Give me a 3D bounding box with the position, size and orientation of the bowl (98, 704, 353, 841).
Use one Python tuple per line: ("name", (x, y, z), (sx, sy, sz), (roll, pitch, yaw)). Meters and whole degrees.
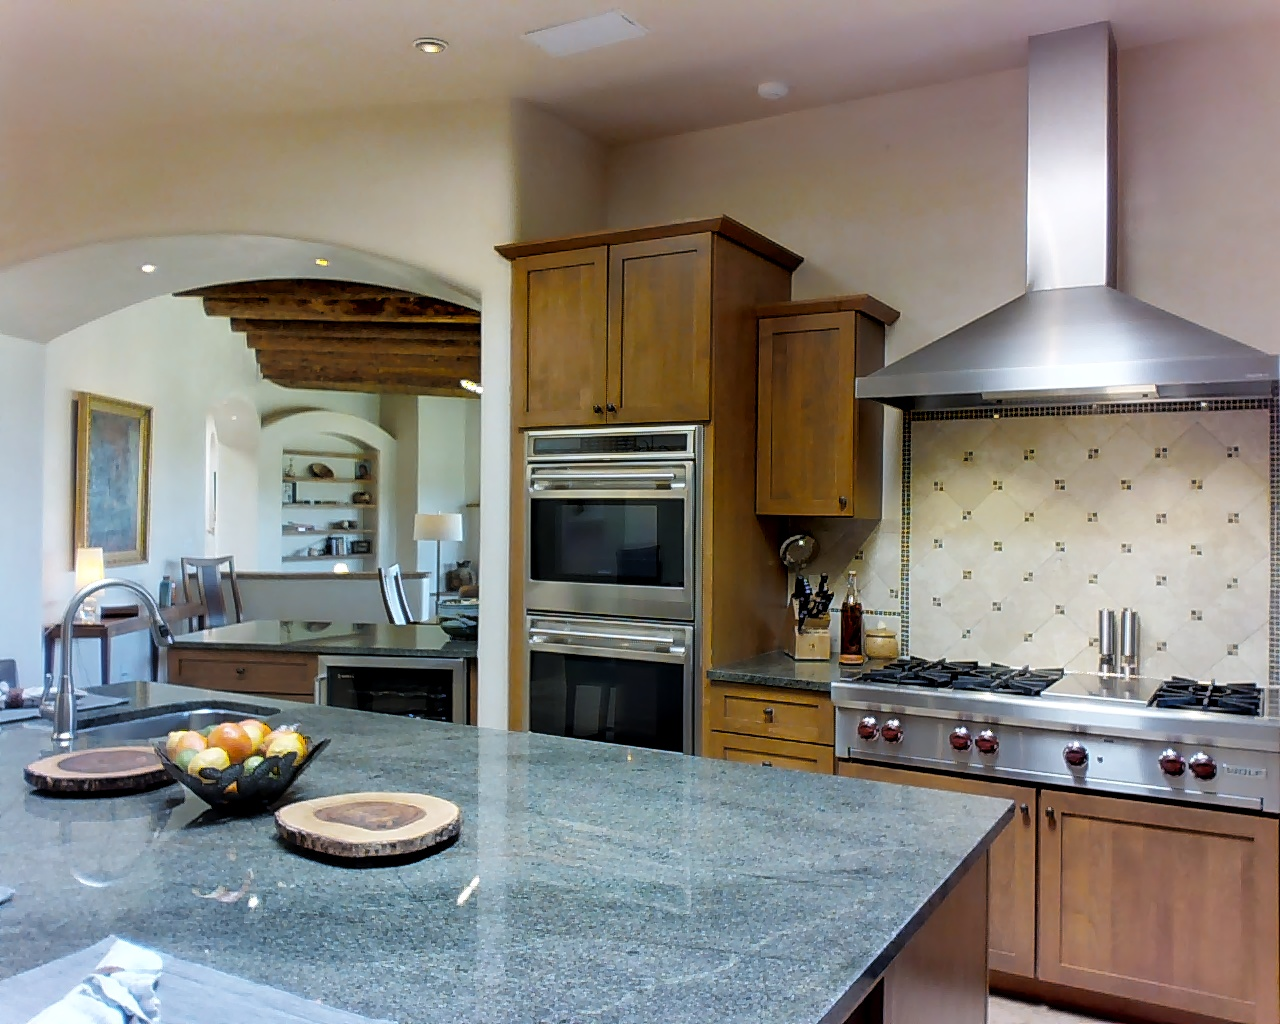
("bowl", (-0.750, 0.460, 1.950), (0.340, 0.150, 0.280), (0, 0, 30))
